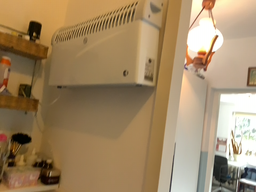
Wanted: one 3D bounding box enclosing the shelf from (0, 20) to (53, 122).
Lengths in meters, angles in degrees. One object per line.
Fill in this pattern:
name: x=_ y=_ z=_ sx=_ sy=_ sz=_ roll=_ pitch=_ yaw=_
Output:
shelf: x=-0.510 y=-0.100 z=0.810 sx=0.120 sy=0.350 sz=0.350 roll=3 pitch=-8 yaw=43
